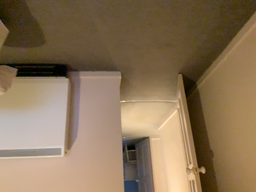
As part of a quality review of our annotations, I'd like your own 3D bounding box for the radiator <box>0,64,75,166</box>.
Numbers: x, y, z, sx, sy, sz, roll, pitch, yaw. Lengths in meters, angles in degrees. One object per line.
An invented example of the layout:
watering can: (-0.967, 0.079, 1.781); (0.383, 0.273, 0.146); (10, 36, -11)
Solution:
radiator: (-1.020, 0.140, 1.610); (1.150, 0.740, 0.230); (-1, 158, -6)
